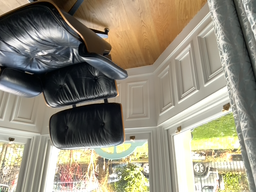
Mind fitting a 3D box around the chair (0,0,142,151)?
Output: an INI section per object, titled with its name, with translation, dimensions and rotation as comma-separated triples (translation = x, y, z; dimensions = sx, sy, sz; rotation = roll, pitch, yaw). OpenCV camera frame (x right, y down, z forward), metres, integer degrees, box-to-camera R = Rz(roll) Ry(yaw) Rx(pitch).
[chair]
translation = -0.450, -0.160, 1.370
dimensions = 0.840, 0.820, 0.880
rotation = -9, 154, 19
